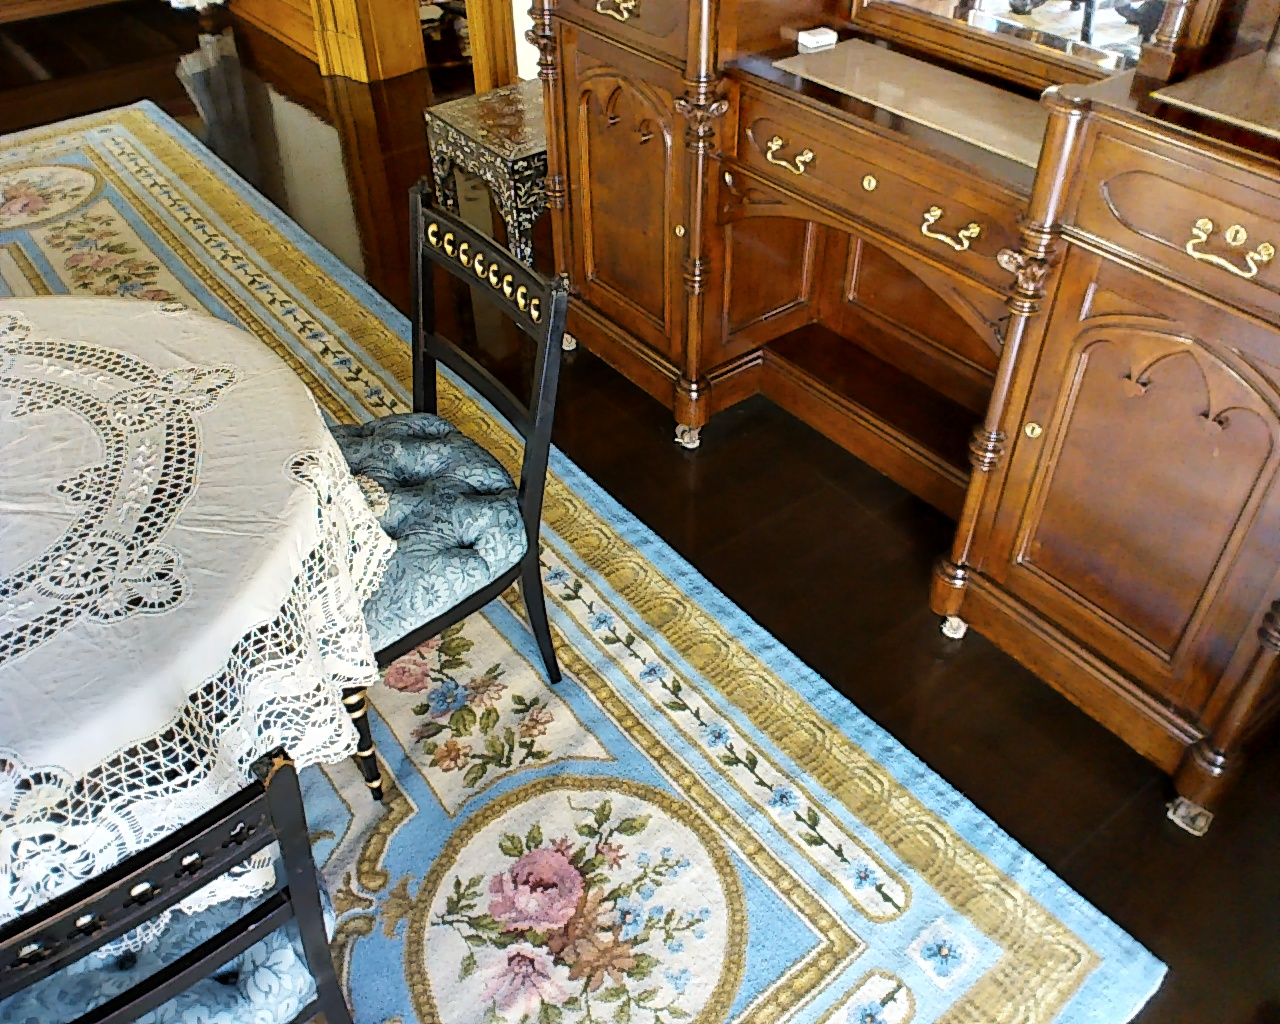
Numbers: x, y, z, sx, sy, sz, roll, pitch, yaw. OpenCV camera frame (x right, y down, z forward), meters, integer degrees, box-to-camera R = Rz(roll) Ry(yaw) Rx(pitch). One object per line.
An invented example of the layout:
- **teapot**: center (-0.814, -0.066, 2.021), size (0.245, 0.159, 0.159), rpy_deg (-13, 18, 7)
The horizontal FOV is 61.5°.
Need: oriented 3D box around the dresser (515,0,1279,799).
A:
- **dresser**: center (0.520, -0.940, 1.780), size (0.590, 2.150, 1.880), rpy_deg (-27, 47, -26)
